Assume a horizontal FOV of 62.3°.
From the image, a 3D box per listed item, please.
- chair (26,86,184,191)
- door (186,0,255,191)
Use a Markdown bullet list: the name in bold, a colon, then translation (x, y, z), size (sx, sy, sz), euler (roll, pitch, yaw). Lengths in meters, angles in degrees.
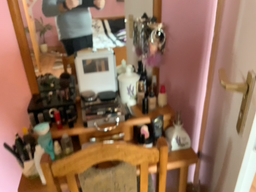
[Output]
- **chair**: translation (-0.070, 0.480, 0.960), size (0.430, 0.930, 0.390), euler (-6, 27, -8)
- **door**: translation (0.350, -0.070, 0.760), size (0.110, 2.260, 0.750), euler (6, 28, 15)
